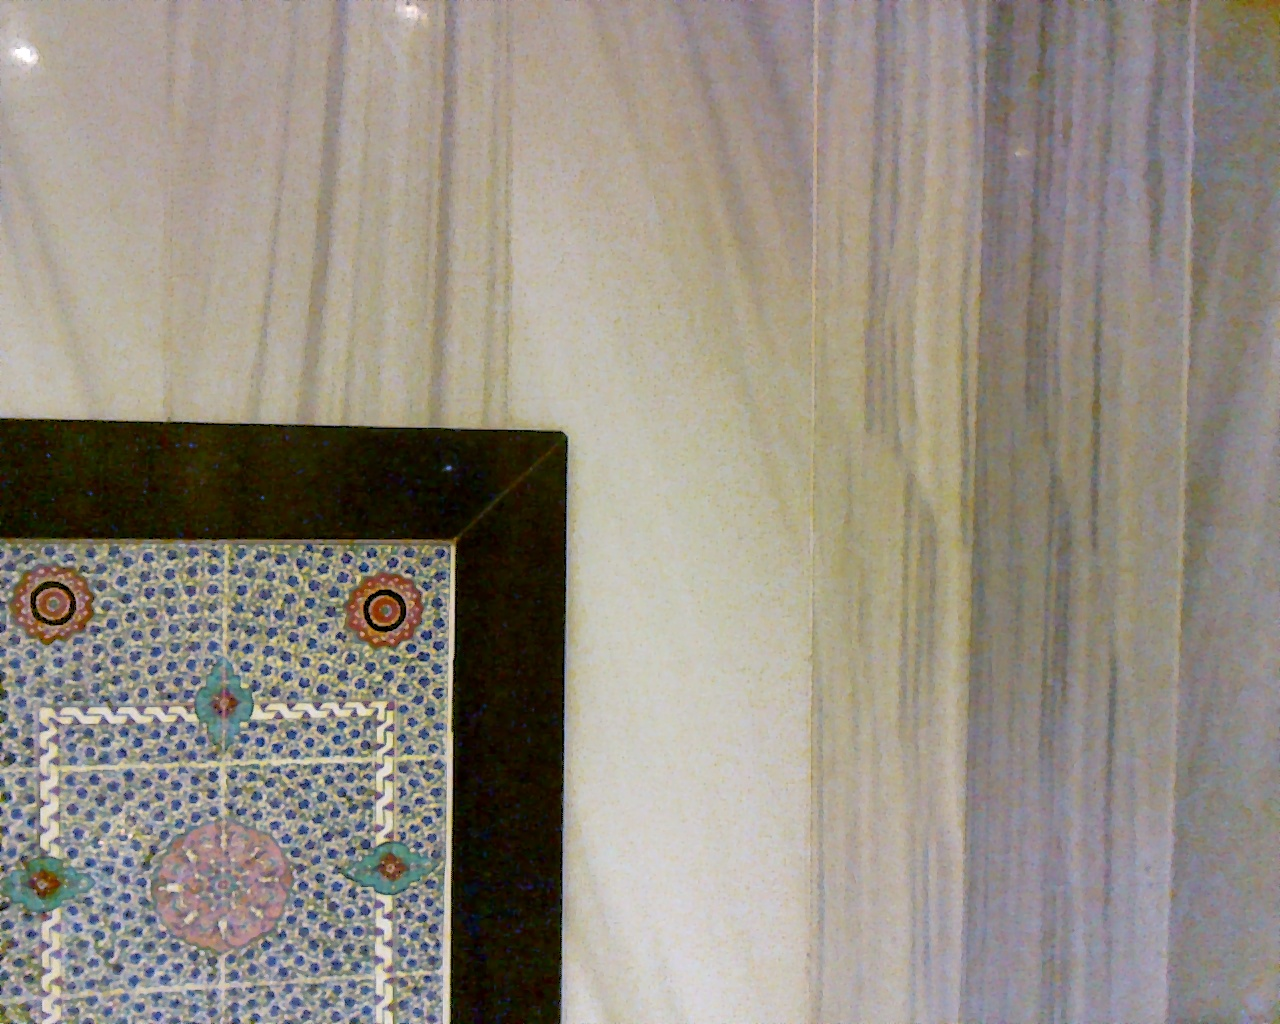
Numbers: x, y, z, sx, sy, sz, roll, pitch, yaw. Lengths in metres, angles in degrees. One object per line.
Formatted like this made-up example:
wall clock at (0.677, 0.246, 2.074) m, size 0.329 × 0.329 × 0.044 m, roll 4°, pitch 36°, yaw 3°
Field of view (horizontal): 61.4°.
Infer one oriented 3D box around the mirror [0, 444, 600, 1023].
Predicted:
mirror at (-0.350, 0.490, 0.950) m, size 0.620 × 1.090 × 0.050 m, roll 0°, pitch 0°, yaw -12°
